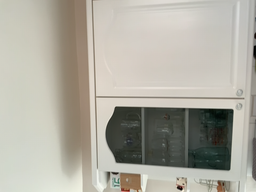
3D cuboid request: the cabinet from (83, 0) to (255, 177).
[{"bbox_3d":[0.250,-0.080,1.440,0.350,1.000,1.060,-37,-52,-78],"label":"cabinet"}]
